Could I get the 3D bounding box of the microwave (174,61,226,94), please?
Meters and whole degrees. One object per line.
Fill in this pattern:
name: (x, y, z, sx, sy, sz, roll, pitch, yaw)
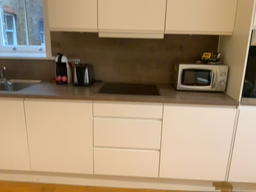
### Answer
microwave: (0.680, -0.190, 2.060, 0.400, 0.260, 0.270, 2, 15, 2)
